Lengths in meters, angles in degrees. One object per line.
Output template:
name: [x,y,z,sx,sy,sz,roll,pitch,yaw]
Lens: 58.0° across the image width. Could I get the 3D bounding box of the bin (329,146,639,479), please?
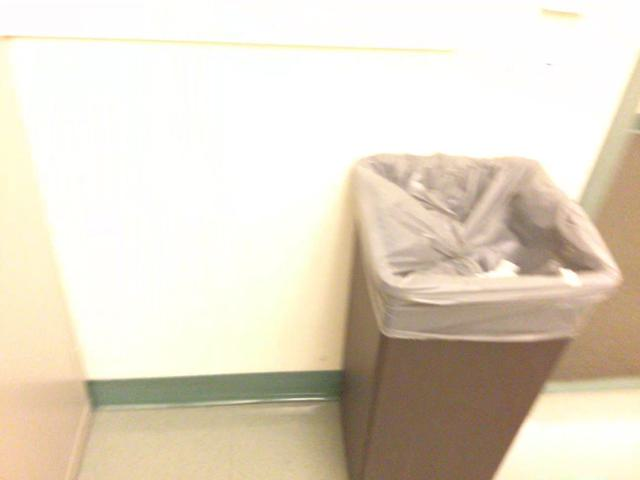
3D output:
bin: [0.240,0.220,1.160,0.400,0.720,0.360,0,37,-3]
